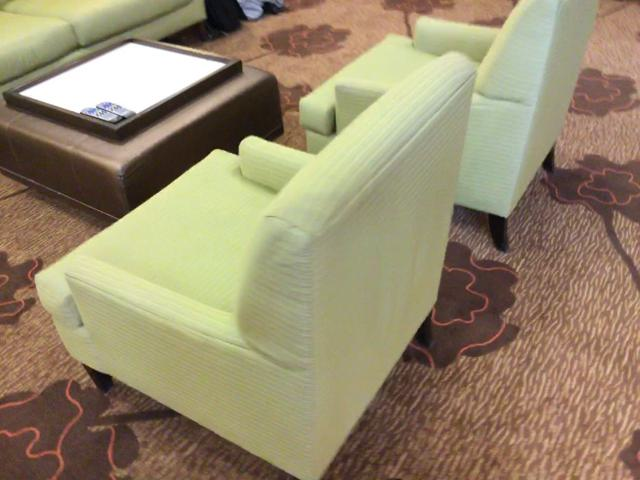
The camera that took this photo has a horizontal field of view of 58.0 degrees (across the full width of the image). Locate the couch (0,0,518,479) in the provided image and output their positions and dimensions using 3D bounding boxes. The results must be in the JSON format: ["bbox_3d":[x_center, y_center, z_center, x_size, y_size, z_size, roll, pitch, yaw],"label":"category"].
[{"bbox_3d":[-0.200,0.040,1.430,0.950,0.910,0.800,23,47,29],"label":"couch"}]

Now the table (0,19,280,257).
[{"bbox_3d":[-0.790,-0.500,2.460,0.820,0.470,0.890,22,47,28],"label":"table"}]

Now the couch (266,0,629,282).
[{"bbox_3d":[0.450,-0.570,2.100,0.950,0.900,0.760,22,47,28],"label":"couch"}]
